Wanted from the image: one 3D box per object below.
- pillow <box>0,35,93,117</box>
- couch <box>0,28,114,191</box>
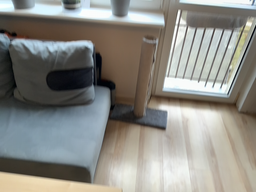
[{"bbox_3d":[-0.540,-0.120,1.450,0.510,0.460,0.270,6,54,3],"label":"pillow"},{"bbox_3d":[-0.480,0.090,1.450,0.630,0.760,0.860,6,38,2],"label":"couch"}]
